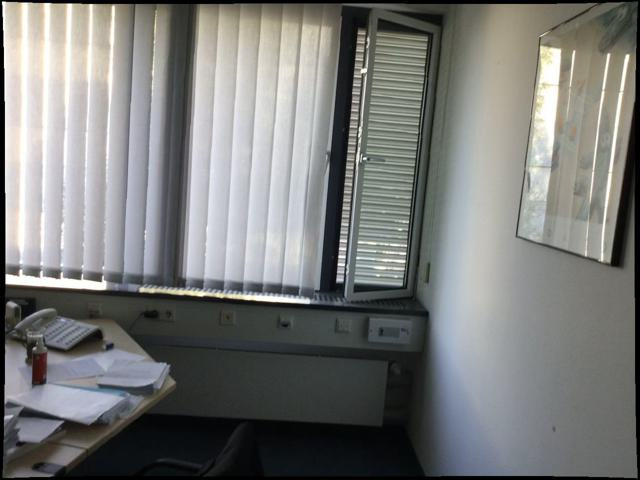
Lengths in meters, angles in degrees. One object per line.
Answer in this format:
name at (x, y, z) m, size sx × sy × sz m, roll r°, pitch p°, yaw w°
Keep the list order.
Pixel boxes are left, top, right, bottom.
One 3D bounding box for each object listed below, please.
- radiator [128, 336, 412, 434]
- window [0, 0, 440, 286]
radiator at (-0.280, 0.831, 3.320) m, size 1.558 × 0.440 × 0.220 m, roll 3°, pitch 9°, yaw -3°
window at (-1.139, -0.551, 3.190) m, size 3.536 × 1.592 × 0.170 m, roll 0°, pitch 7°, yaw -1°
